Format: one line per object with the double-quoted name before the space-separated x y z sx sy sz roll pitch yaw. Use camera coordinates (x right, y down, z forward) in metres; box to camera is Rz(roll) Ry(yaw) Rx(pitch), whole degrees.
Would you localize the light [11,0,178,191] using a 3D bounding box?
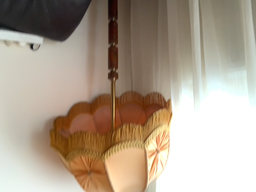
"light" -0.100 -0.370 1.150 0.620 1.680 0.590 -3 173 17
